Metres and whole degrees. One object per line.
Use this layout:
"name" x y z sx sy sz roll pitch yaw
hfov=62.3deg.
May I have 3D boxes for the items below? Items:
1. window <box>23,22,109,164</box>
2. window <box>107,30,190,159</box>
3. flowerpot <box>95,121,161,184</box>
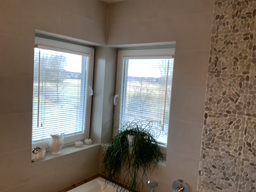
"window" -0.610 -0.030 2.250 0.160 1.240 0.900 8 6 38
"window" 0.160 -0.050 2.270 0.890 1.190 0.110 8 6 40
"flowerpot" -0.020 0.560 2.290 0.660 0.440 0.310 9 7 43
